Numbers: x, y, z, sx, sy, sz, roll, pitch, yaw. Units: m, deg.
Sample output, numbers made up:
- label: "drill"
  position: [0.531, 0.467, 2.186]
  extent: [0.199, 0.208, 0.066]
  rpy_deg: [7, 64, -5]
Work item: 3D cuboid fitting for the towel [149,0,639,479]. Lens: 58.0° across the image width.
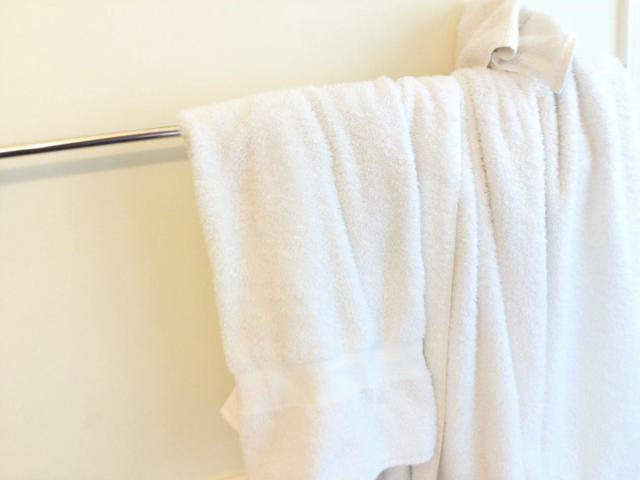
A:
- label: "towel"
  position: [0.150, 0.230, 0.610]
  extent: [0.480, 0.880, 0.180]
  rpy_deg: [-8, 17, -9]
